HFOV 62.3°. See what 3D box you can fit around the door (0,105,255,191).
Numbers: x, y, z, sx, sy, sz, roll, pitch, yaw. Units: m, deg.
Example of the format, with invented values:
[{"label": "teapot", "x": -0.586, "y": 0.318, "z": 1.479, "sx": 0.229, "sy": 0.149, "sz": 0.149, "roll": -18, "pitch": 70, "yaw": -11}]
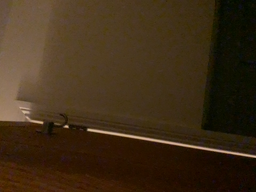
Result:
[{"label": "door", "x": 0.490, "y": 0.180, "z": 0.550, "sx": 0.680, "sy": 2.000, "sz": 0.040, "roll": 72, "pitch": -154, "yaw": -84}]
